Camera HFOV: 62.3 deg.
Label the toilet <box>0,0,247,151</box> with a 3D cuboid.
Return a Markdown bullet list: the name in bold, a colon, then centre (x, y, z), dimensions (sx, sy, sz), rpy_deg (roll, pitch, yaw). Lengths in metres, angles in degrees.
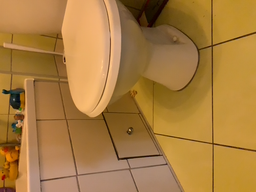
- **toilet**: centre (-0.160, -0.220, 0.770), dimensions (0.390, 0.750, 0.680), rpy_deg (-63, 37, 34)
